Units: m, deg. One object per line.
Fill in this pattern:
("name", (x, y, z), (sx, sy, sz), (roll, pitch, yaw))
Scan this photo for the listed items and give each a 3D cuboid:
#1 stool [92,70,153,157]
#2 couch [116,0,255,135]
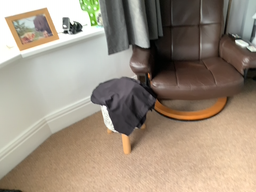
("stool", (-0.020, 0.110, 1.370), (0.310, 0.400, 0.350), (-6, 34, 2))
("couch", (0.410, -0.390, 1.520), (0.770, 0.980, 0.870), (-2, 35, 8))
